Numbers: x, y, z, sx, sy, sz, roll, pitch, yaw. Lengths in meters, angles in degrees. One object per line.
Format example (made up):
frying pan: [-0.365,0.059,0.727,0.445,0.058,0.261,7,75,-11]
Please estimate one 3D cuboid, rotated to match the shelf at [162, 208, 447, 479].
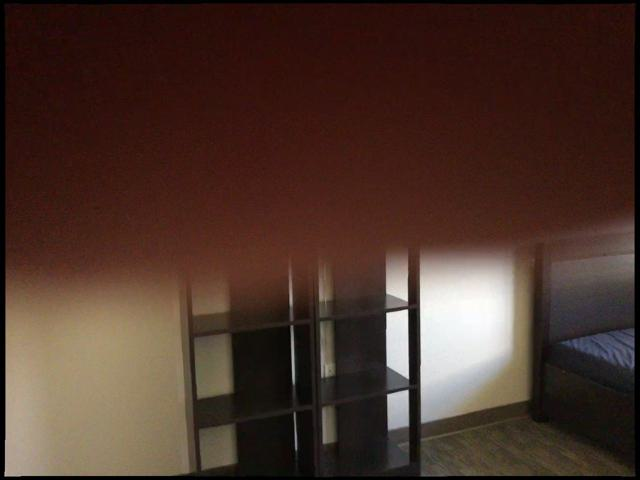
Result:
shelf: [-0.050,0.521,2.610,1.158,1.232,0.460,-5,9,-22]
